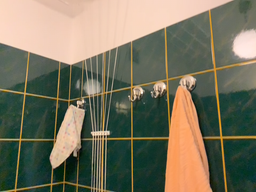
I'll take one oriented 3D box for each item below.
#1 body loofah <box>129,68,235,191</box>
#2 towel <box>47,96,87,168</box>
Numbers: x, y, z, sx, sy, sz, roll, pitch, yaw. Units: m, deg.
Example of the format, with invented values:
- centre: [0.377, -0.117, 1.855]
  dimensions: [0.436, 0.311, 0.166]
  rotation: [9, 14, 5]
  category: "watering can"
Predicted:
- centre: [0.180, 0.410, 0.720]
  dimensions: [0.310, 0.940, 0.180]
  rotation: [-10, -15, 40]
  category: "body loofah"
- centre: [-0.350, 0.210, 1.250]
  dimensions: [0.190, 0.380, 0.200]
  rotation: [3, -12, -13]
  category: "towel"
